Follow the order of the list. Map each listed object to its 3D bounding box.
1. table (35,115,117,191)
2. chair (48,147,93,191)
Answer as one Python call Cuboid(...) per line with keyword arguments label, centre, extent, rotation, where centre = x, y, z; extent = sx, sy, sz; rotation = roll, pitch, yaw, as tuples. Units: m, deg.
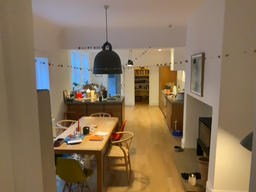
Cuboid(label="table", centre=(-0.780, 0.960, 4.010), extent=(0.910, 0.730, 2.080), rotation=(1, 9, 3))
Cuboid(label="chair", centre=(-0.740, 1.130, 2.830), extent=(0.410, 0.740, 0.470), rotation=(1, 9, 6))
